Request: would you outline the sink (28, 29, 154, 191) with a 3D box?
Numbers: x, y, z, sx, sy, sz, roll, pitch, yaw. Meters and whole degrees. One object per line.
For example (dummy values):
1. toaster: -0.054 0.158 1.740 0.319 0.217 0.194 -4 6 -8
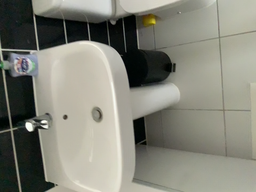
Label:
1. sink: -0.150 0.080 0.810 0.420 0.180 0.550 -2 97 37
